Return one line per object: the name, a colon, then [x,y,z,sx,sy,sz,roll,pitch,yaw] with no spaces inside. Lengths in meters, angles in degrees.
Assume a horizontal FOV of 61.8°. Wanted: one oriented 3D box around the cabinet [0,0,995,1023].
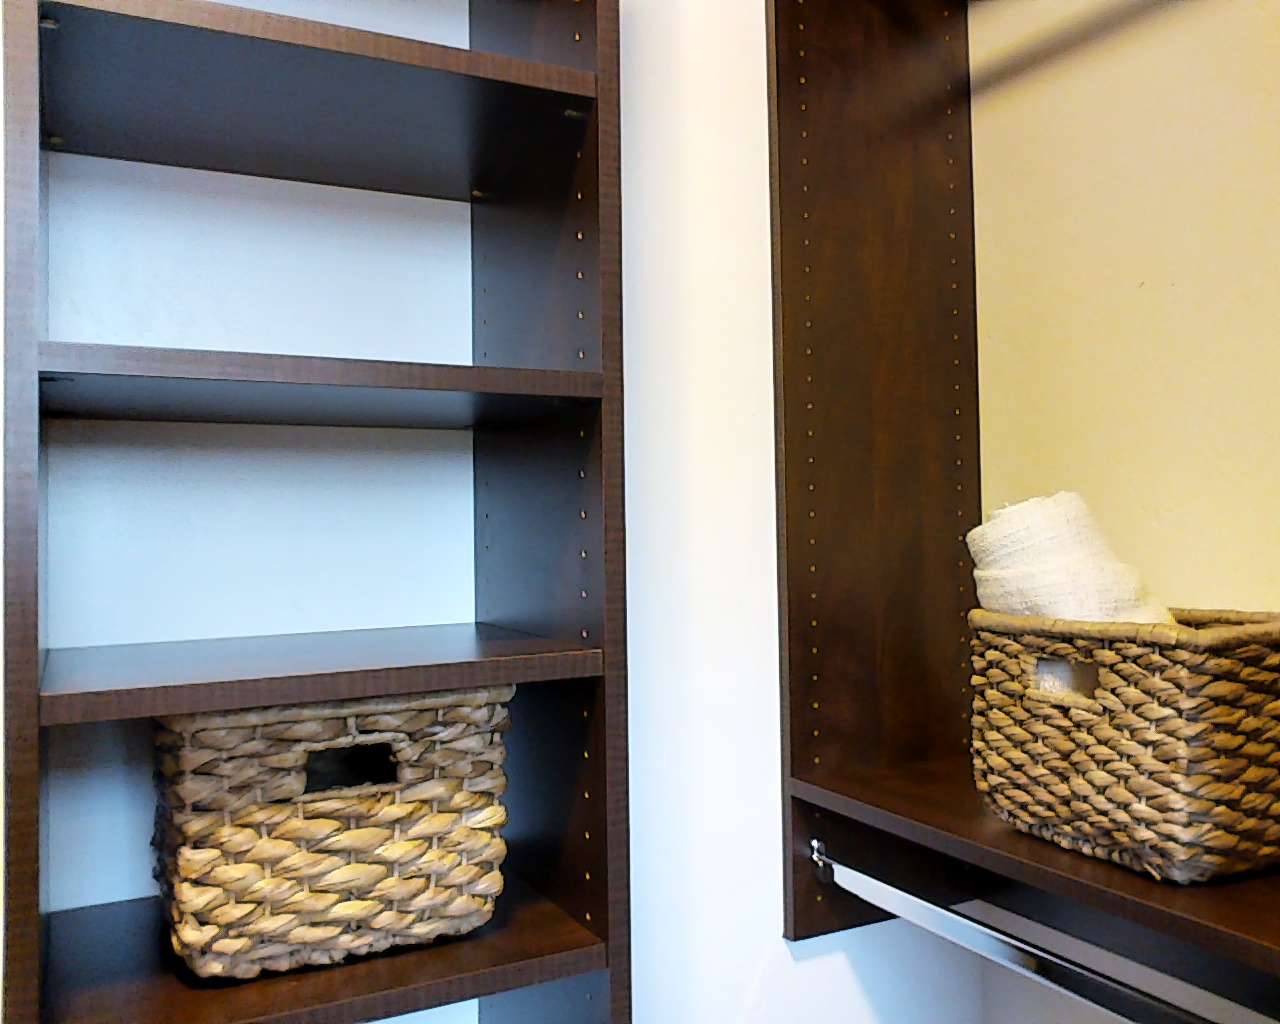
cabinet: [-0.170,0.130,0.860,0.800,2.530,0.420,0,-1,-27]
